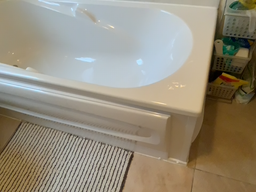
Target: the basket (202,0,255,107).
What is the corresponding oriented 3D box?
[{"bbox_3d":[0.580,-0.260,1.140,0.200,0.770,0.200,13,56,17],"label":"basket"}]
